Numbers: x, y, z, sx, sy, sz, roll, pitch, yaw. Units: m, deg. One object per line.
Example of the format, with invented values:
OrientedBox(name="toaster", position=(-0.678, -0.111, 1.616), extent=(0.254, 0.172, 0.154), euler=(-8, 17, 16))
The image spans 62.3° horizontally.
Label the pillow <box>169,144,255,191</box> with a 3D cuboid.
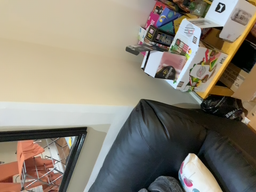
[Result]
OrientedBox(name="pillow", position=(0.410, 0.420, 0.950), extent=(0.370, 0.250, 0.160), euler=(58, 132, 41))
